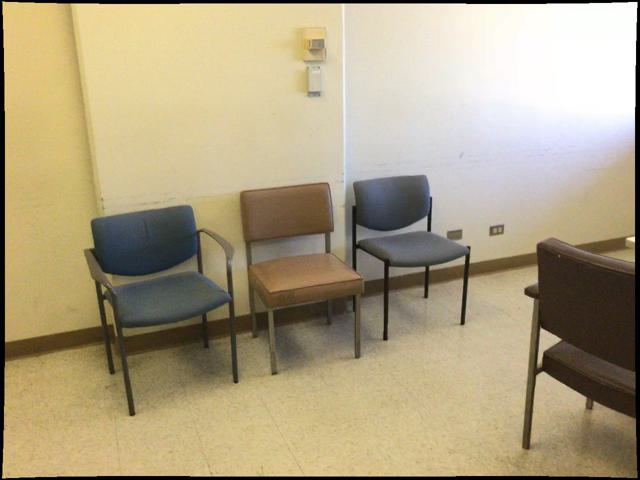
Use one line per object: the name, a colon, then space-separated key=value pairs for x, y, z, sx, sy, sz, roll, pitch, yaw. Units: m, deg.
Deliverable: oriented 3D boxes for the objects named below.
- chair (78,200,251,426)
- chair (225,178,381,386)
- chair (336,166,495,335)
chair: x=-0.718 y=0.291 z=2.650 sx=0.609 sy=0.752 sz=0.590 roll=-10 pitch=21 yaw=-19
chair: x=-0.090 y=0.170 z=2.870 sx=0.579 sy=0.792 sz=0.570 roll=-10 pitch=21 yaw=-19
chair: x=0.509 y=0.020 z=3.240 sx=0.619 sy=0.692 sz=0.630 roll=-10 pitch=21 yaw=-19
